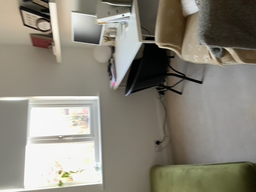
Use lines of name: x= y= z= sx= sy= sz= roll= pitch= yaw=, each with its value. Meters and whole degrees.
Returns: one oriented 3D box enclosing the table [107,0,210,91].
table: x=0.230 y=-0.560 z=2.510 sx=1.210 sy=0.730 sz=0.610 roll=129 pitch=139 yaw=-66
